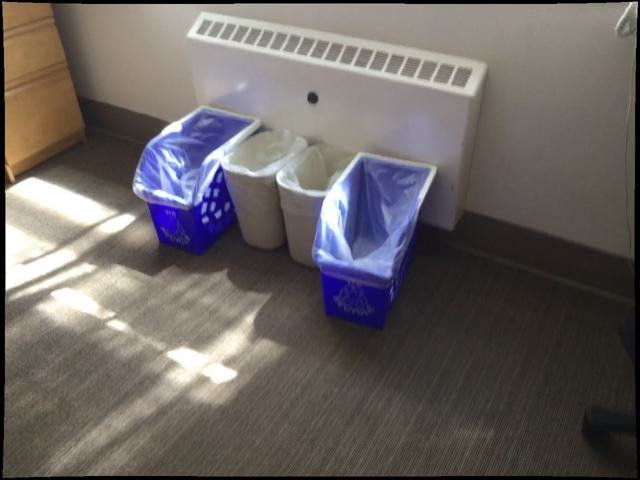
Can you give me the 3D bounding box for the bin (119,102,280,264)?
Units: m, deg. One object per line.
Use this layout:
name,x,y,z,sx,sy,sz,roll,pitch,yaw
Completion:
bin,-0.390,-0.210,1.990,0.300,0.330,0.420,20,43,25

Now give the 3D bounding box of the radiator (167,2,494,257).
radiator,-0.010,-0.390,1.950,1.059,0.610,0.160,20,43,25

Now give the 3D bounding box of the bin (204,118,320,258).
bin,-0.180,-0.180,1.950,0.240,0.320,0.290,20,43,25

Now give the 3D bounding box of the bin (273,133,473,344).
bin,0.170,-0.030,1.760,0.390,0.330,0.490,20,43,25

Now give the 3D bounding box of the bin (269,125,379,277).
bin,0.020,-0.130,1.870,0.220,0.350,0.280,20,43,25
